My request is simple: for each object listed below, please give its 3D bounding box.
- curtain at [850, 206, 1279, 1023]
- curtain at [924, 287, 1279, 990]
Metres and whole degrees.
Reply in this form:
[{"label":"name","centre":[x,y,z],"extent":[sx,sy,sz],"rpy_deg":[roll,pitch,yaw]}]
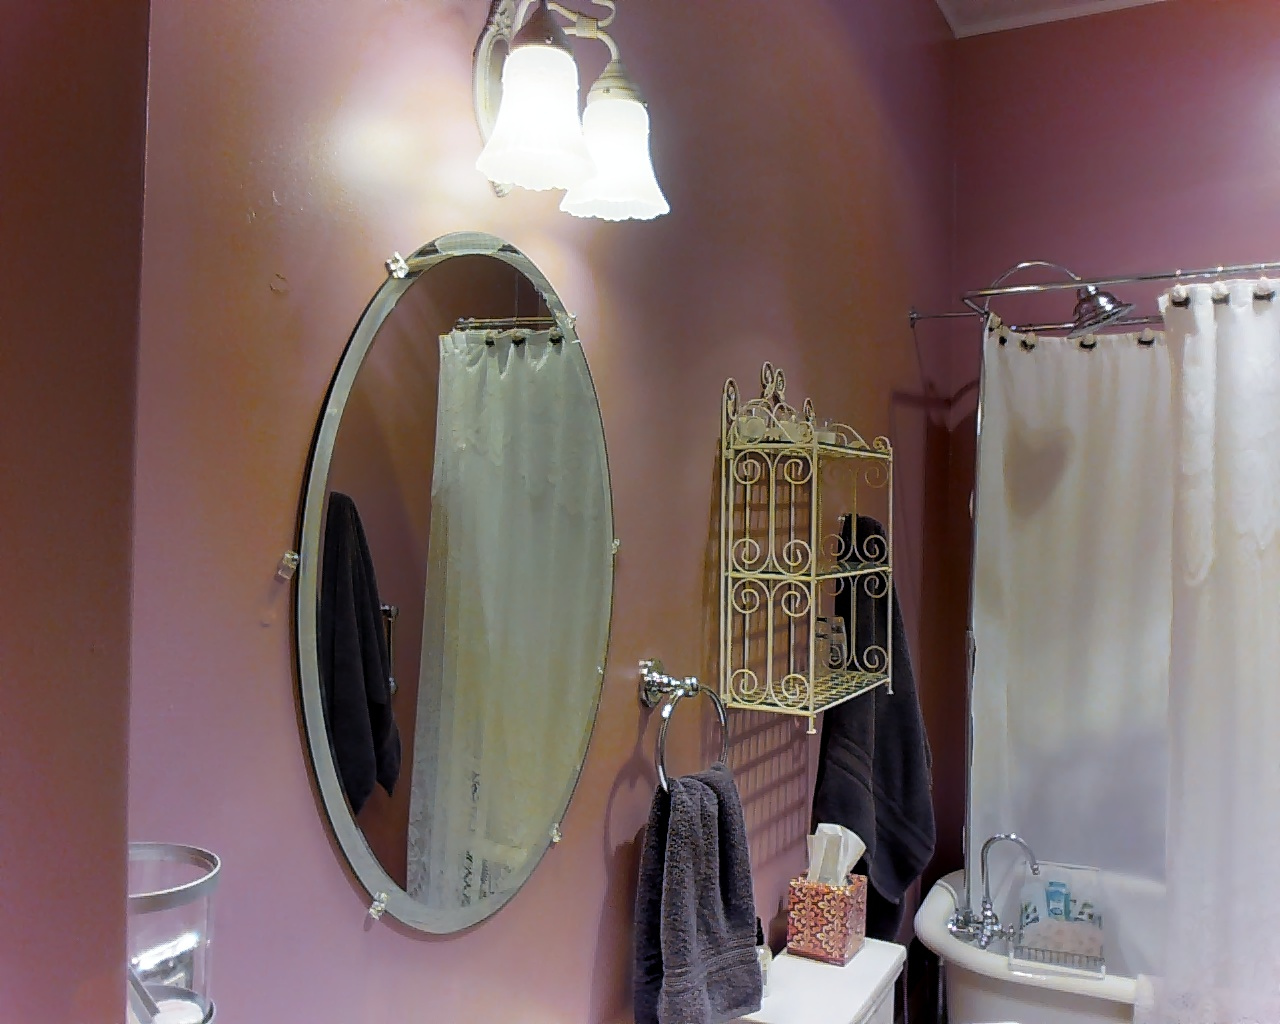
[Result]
[{"label":"curtain","centre":[1.160,0.400,2.190],"extent":[1.400,1.961,0.230],"rpy_deg":[1,0,28]},{"label":"curtain","centre":[1.350,0.300,2.850],"extent":[1.100,1.701,0.230],"rpy_deg":[1,0,28]}]
